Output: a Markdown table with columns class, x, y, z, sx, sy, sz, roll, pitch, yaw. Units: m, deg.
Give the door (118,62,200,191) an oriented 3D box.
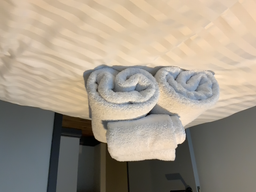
| class | x | y | z | sx | sy | sz | roll | pitch | yaw |
| --- | --- | --- | --- | --- | --- | --- | --- | --- | --- |
| door | 0.220 | 0.840 | 1.630 | 0.040 | 2.200 | 0.780 | 18 | 147 | -37 |
